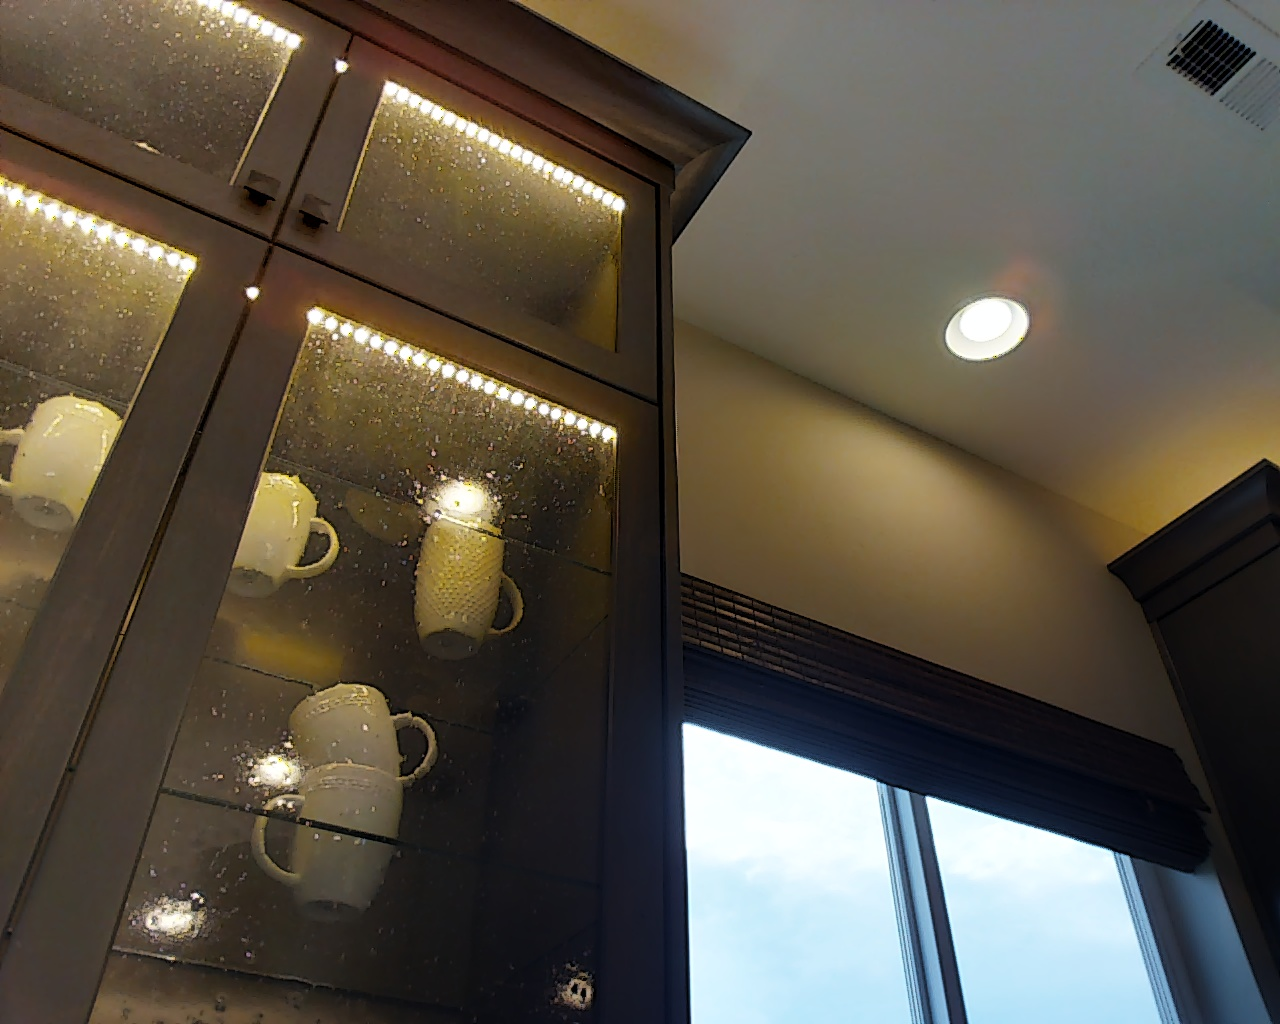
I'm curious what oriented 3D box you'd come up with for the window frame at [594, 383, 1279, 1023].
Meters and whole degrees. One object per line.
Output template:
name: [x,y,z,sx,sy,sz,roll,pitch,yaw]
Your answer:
window frame: [0.510,0.690,1.620,1.190,1.740,0.220,22,-45,-22]
